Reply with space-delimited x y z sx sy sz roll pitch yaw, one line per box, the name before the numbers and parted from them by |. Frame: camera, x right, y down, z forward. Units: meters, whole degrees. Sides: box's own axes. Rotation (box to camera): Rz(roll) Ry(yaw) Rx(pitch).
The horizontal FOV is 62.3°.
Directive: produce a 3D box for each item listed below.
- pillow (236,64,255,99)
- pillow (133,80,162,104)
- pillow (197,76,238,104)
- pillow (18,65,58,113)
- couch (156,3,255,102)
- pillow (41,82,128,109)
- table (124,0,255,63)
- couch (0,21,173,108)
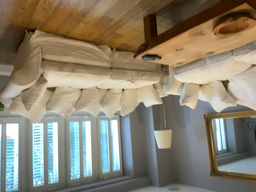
pillow | 1.640 -0.180 2.760 0.260 0.420 0.260 2 -172 -36
pillow | 0.330 -0.060 3.660 0.270 0.340 0.400 2 170 -35
pillow | 1.400 -0.070 3.320 0.490 0.360 0.360 2 170 -37
pillow | -1.040 -0.060 2.430 0.190 0.440 0.460 22 158 -35
couch | 1.600 -0.490 2.680 1.060 0.820 2.440 1 170 -34
pillow | -0.620 0.020 3.330 1.350 0.360 0.240 2 177 -35
table | 0.660 -0.730 1.990 0.790 0.410 1.230 2 170 -38
couch | -0.550 -0.270 3.250 2.430 0.780 1.010 2 170 -37
